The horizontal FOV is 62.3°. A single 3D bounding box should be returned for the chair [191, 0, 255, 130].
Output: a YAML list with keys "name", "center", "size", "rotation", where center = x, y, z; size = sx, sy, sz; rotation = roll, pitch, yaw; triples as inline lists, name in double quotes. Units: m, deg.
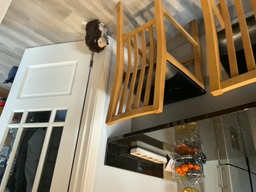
- name: "chair"
  center: [0.600, -0.370, 1.020]
  size: [0.370, 0.910, 0.480]
  rotation: [-21, 143, 40]

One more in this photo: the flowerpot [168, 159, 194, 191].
- name: "flowerpot"
  center: [0.450, 0.740, 1.830]
  size: [0.150, 0.340, 0.200]
  rotation: [7, 153, -4]

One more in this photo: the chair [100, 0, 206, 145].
- name: "chair"
  center: [0.180, -0.210, 1.390]
  size: [0.370, 0.910, 0.480]
  rotation: [-21, 143, 40]
